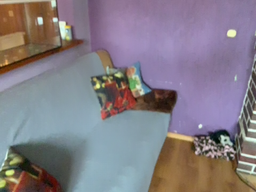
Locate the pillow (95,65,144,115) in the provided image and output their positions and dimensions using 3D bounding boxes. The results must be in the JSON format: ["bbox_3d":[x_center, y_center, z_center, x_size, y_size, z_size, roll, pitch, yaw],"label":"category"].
[{"bbox_3d":[-0.060,-0.040,1.960,0.130,0.410,0.470,6,0,41],"label":"pillow"}]

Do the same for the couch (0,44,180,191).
[{"bbox_3d":[-0.270,0.330,1.460,0.910,0.930,2.010,8,26,17],"label":"couch"}]
